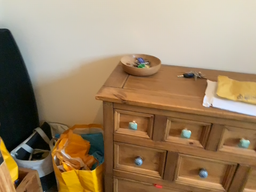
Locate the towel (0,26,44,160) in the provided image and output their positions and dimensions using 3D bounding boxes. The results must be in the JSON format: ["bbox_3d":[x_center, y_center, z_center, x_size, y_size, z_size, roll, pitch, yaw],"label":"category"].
[{"bbox_3d":[-0.750,-0.010,1.340,0.120,0.760,0.350,12,31,16],"label":"towel"}]

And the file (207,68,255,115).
[{"bbox_3d":[0.510,-0.020,0.900,0.310,0.060,0.280,11,30,13],"label":"file"}]

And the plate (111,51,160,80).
[{"bbox_3d":[0.050,-0.170,1.120,0.210,0.040,0.260,9,30,10],"label":"plate"}]
